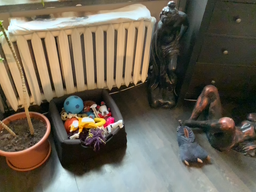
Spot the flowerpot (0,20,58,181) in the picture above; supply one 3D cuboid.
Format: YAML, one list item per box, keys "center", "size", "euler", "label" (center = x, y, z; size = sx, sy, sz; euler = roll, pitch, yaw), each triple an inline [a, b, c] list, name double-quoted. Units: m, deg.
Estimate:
- center: [-0.680, 0.050, 1.220]
  size: [0.330, 0.780, 0.430]
  euler: [-16, 46, -22]
  label: "flowerpot"

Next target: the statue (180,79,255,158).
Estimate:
- center: [0.870, 0.170, 1.560]
  size: [0.850, 0.330, 0.430]
  euler: [5, 42, 0]
  label: "statue"

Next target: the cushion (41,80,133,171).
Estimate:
- center: [-0.300, 0.170, 1.500]
  size: [0.470, 0.230, 0.500]
  euler: [-16, 46, -22]
  label: "cushion"
